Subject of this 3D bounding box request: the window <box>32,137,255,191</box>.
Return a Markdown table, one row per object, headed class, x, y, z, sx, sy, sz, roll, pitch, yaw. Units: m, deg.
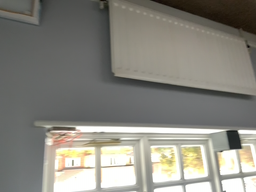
| class | x | y | z | sx | sy | sz | roll | pitch | yaw |
| --- | --- | --- | --- | --- | --- | --- | --- | --- | --- |
| window | 0.350 | 0.790 | 1.380 | 1.810 | 1.010 | 0.200 | 5 | 161 | -25 |
